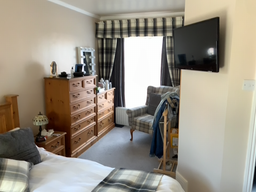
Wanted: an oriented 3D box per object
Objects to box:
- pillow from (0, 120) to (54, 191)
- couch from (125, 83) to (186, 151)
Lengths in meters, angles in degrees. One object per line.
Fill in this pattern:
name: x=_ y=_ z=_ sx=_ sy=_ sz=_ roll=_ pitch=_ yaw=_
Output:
pillow: x=-1.160 y=0.580 z=1.750 sx=0.380 sy=0.390 sz=1.220 roll=3 pitch=11 yaw=16
couch: x=0.520 y=0.320 z=4.060 sx=0.790 sy=1.000 sz=0.860 roll=10 pitch=15 yaw=41
